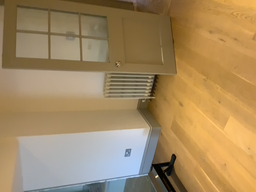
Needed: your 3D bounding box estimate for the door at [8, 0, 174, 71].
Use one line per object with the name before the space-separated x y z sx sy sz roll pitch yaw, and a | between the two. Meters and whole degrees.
door | -0.320 -0.690 2.460 0.050 1.880 0.750 160 108 -68
